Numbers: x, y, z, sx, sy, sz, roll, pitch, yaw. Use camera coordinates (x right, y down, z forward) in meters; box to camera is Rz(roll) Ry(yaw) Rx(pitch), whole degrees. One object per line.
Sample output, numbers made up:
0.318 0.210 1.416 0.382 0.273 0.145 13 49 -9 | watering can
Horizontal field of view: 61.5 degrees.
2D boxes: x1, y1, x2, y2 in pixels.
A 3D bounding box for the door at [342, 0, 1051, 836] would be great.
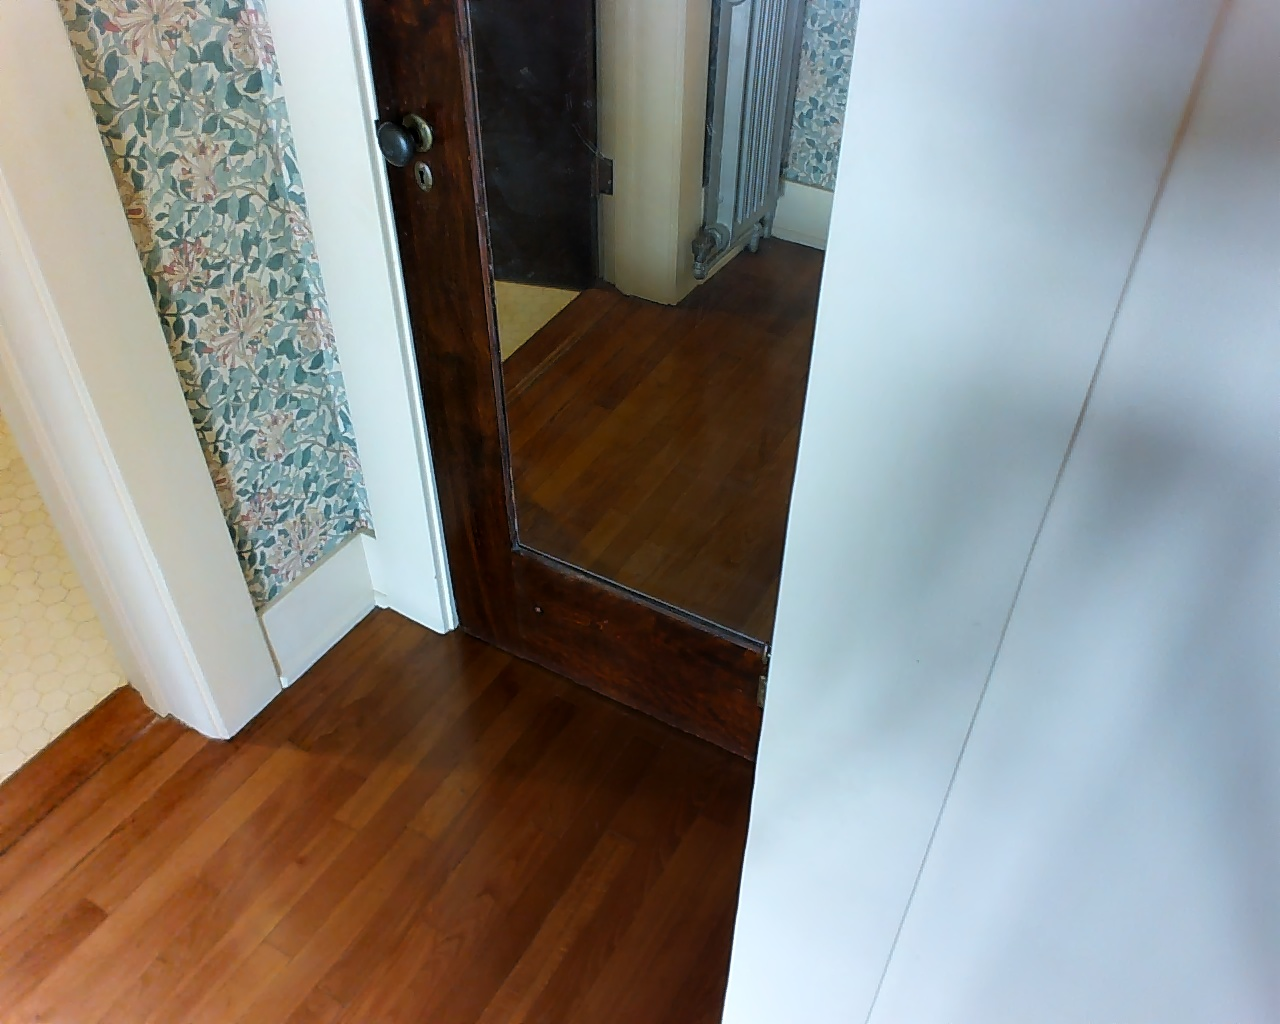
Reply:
0.010 -0.410 1.260 0.790 2.080 0.110 22 46 22 | door
